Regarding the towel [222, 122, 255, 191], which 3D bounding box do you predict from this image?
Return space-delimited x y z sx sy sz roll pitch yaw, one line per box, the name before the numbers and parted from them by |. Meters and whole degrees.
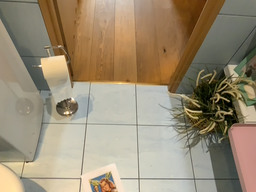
towel | 0.640 0.320 1.020 0.270 0.120 0.340 6 60 -3
